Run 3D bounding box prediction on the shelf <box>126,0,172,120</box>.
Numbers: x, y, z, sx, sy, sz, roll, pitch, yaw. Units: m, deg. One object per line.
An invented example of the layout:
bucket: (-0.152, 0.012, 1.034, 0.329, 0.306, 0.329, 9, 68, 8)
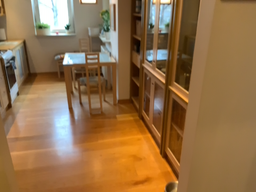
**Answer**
shelf: (0.260, -0.750, 3.050, 0.400, 2.100, 0.660, -4, 24, -12)
